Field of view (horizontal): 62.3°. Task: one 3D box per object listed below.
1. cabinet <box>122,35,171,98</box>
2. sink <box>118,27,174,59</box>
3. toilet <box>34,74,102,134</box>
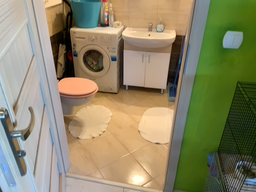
[{"bbox_3d":[0.240,-0.400,2.910,0.590,0.730,0.320,7,32,8],"label":"cabinet"},{"bbox_3d":[0.240,-0.680,2.650,0.640,0.210,0.460,7,32,8],"label":"sink"},{"bbox_3d":[-0.620,0.080,2.320,0.570,0.460,0.360,7,32,9],"label":"toilet"}]
